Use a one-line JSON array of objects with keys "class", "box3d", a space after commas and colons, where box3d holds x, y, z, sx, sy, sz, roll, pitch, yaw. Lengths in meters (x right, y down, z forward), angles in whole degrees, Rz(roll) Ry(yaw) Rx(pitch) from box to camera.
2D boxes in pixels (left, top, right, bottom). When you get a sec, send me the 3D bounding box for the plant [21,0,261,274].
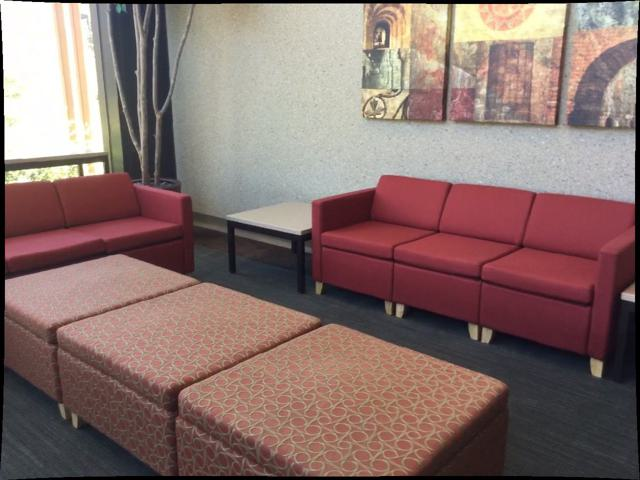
[{"class": "plant", "box3d": [-1.378, -1.312, 4.470, 1.389, 2.724, 1.129, 13, 20, 40]}]
